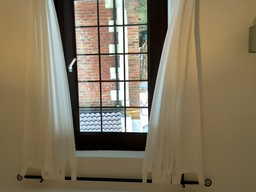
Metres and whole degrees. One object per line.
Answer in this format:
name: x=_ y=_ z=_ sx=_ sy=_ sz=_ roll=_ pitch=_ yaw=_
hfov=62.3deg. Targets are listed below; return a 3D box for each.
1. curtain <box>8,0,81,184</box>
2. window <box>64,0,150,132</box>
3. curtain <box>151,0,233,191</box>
curtain: x=-0.690 y=-0.500 z=1.740 sx=0.450 sy=2.460 sz=0.190 roll=-1 pitch=-174 yaw=4
window: x=-0.190 y=-0.340 z=2.010 sx=0.790 sy=1.390 sz=0.030 roll=-1 pitch=-174 yaw=4
curtain: x=0.450 y=-0.480 z=1.580 sx=0.540 sy=2.470 sz=0.220 roll=-1 pitch=-174 yaw=5
